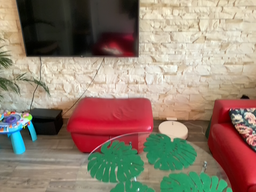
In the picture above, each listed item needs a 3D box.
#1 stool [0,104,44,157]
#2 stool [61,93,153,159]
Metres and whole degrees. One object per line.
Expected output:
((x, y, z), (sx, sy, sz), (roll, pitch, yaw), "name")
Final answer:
((-1.290, 0.370, 2.360), (0.470, 0.360, 0.480), (1, 25, 3), "stool")
((-0.180, 0.300, 2.350), (0.860, 0.400, 0.670), (1, 25, 3), "stool")
